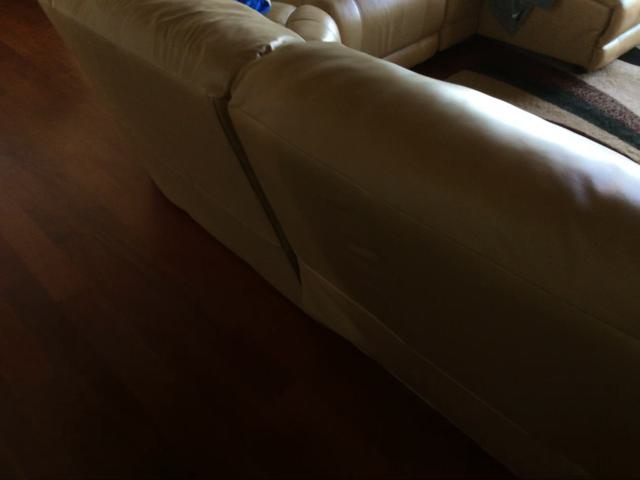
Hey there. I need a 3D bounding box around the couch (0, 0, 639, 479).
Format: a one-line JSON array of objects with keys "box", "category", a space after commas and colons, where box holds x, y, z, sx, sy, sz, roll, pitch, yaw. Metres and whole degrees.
[{"box": [0.650, -0.980, 2.410, 3.020, 1.060, 3.370, 33, 52, 32], "category": "couch"}]
